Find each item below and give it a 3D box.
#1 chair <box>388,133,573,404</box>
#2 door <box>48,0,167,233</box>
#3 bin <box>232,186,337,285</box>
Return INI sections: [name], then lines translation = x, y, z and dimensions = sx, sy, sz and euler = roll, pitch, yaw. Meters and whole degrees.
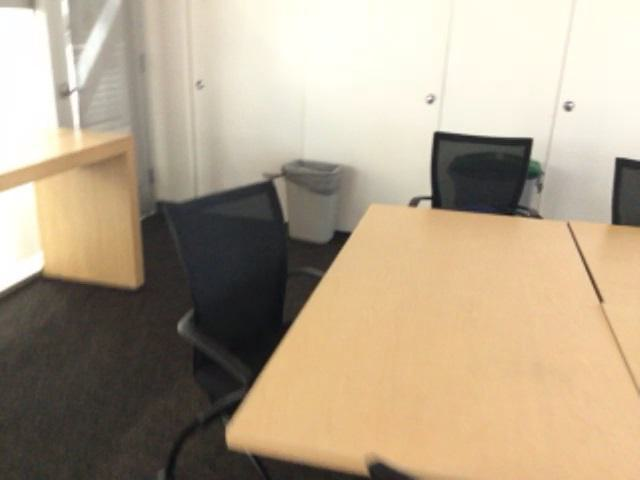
[chair]
translation = 0.650, 0.050, 2.460
dimensions = 0.570, 0.940, 0.730
euler = 5, 14, 14
[door]
translation = -1.310, -1.010, 3.670
dimensions = 0.210, 1.780, 0.850
euler = 5, 14, 14
[bin]
translation = -0.220, -0.050, 3.770
dimensions = 0.550, 0.510, 0.500
euler = 5, 14, 14
